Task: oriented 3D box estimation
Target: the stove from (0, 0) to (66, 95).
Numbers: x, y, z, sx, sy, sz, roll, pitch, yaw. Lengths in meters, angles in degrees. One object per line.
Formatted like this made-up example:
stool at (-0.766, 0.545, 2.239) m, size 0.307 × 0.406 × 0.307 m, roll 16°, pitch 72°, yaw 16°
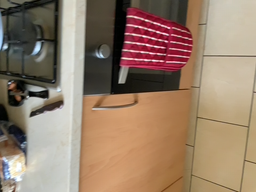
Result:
stove at (-0.380, -0.330, 0.710) m, size 0.540 × 0.040 × 0.590 m, roll 9°, pitch 99°, yaw 39°
